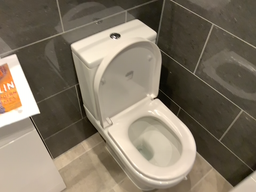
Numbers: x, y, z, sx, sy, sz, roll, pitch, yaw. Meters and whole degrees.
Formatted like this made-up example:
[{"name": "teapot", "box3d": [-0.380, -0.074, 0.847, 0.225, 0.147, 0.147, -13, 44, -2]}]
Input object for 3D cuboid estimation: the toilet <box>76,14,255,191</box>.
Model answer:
[{"name": "toilet", "box3d": [0.100, 0.160, 1.090, 0.370, 0.840, 0.610, -28, 57, -24]}]
